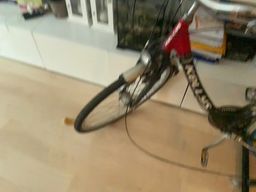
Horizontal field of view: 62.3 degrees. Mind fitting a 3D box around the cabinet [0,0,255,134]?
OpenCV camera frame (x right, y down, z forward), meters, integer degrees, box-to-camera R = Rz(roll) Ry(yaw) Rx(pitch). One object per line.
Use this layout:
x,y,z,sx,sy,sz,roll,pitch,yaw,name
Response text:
-0.120,-0.340,1.750,3.640,0.400,0.480,16,53,10,cabinet
